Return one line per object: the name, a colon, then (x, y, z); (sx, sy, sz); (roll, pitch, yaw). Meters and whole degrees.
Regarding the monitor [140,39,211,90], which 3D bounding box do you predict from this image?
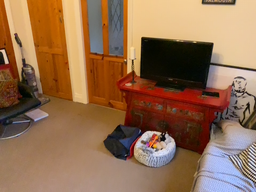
monitor: (0.510, -0.370, 2.440); (0.770, 0.500, 0.040); (12, 27, 24)
